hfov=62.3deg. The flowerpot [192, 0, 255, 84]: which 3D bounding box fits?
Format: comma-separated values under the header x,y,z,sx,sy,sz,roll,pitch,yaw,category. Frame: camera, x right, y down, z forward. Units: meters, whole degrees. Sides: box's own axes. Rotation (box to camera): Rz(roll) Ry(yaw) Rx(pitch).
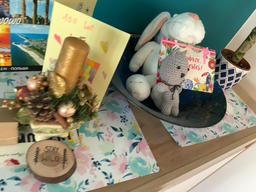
x,y,z,sx,sy,sz,roll,pitch,yaw,category
0.480,-0.290,0.730,0.200,0.520,0.160,-10,54,-37,flowerpot
